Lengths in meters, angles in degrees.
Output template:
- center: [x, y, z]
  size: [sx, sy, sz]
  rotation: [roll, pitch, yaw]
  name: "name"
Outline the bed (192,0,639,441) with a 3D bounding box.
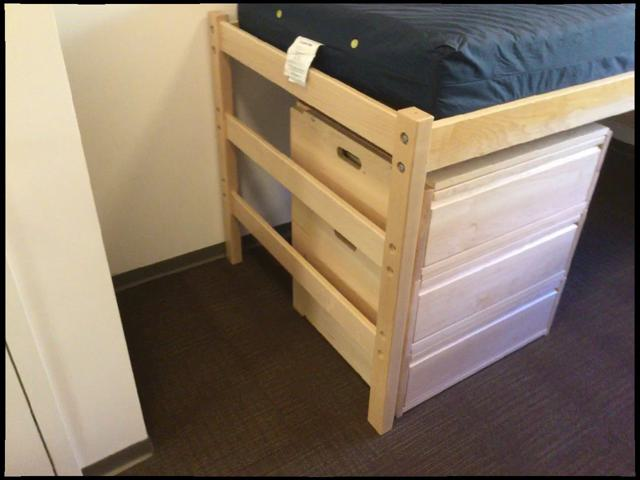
- center: [0.868, -0.481, 2.180]
  size: [2.347, 1.102, 1.050]
  rotation: [-18, 39, -25]
  name: "bed"
